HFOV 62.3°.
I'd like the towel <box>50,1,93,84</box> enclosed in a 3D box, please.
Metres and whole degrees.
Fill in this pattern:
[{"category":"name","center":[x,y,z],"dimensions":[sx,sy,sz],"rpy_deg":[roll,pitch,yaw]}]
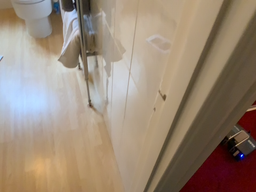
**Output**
[{"category":"towel","center":[-0.380,-0.360,1.460],"dimensions":[0.190,0.420,0.330],"rpy_deg":[-11,52,-15]}]

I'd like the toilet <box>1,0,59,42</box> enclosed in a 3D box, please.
[{"category":"toilet","center":[-0.980,-1.080,2.070],"dimensions":[0.400,0.770,0.710],"rpy_deg":[-10,52,-15]}]
